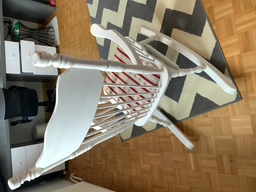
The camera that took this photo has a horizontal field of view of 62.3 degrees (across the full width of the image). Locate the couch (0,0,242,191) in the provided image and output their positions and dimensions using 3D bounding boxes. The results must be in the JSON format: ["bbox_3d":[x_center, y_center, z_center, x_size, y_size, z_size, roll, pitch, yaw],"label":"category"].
[{"bbox_3d":[-0.110,-0.090,1.250,0.880,1.150,0.620,47,123,35],"label":"couch"}]

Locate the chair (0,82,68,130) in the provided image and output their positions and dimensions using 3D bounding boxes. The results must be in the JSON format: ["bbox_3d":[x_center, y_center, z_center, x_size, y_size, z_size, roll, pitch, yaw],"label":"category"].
[{"bbox_3d":[-1.370,0.140,2.880,0.640,0.820,0.540,-12,83,46],"label":"chair"}]
